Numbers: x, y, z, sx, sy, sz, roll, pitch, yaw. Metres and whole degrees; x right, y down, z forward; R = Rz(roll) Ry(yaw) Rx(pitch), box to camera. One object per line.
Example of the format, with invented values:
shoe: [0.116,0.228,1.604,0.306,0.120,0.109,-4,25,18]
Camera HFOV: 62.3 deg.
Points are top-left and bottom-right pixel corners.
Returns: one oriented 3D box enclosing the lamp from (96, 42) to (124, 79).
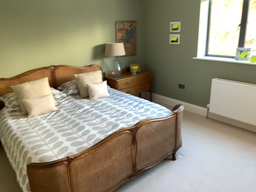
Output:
lamp: [-0.350,-0.710,4.170,0.420,0.660,0.320,-17,24,-39]

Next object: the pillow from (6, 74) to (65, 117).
pillow: [-1.300,-0.040,2.970,0.570,0.350,0.620,-14,22,-34]
